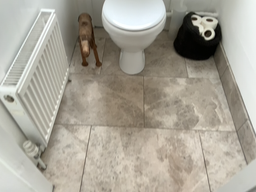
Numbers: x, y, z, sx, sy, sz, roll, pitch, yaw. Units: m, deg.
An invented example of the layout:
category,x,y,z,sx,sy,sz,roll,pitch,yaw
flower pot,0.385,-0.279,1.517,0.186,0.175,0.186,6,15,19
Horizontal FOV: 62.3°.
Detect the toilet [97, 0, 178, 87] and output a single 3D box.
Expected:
category,x,y,z,sx,sy,sz,roll,pitch,yaw
toilet,0.040,-0.560,1.300,0.360,0.770,0.660,2,52,-1
